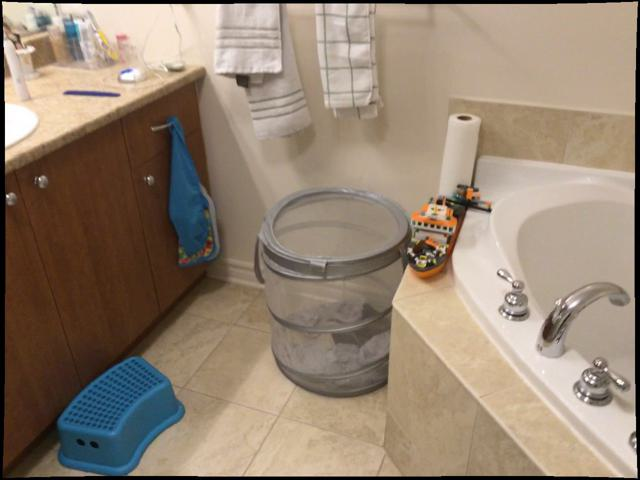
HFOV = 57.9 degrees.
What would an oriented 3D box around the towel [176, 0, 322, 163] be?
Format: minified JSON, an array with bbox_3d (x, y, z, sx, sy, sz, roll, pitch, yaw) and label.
[{"bbox_3d":[-0.200,-0.521,1.760,0.340,0.500,0.190,9,35,19],"label":"towel"}]

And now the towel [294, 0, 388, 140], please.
[{"bbox_3d":[0.070,-0.511,1.660,0.210,0.390,0.170,9,35,19],"label":"towel"}]

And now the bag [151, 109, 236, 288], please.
[{"bbox_3d":[-0.410,-0.130,1.940,0.090,0.560,0.210,9,35,19],"label":"bag"}]

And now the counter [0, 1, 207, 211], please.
[{"bbox_3d":[-0.919,-0.270,1.360,0.580,0.240,1.530,9,35,19],"label":"counter"}]

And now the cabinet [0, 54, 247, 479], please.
[{"bbox_3d":[-0.839,0.140,1.560,0.540,0.811,1.580,9,35,19],"label":"cabinet"}]
